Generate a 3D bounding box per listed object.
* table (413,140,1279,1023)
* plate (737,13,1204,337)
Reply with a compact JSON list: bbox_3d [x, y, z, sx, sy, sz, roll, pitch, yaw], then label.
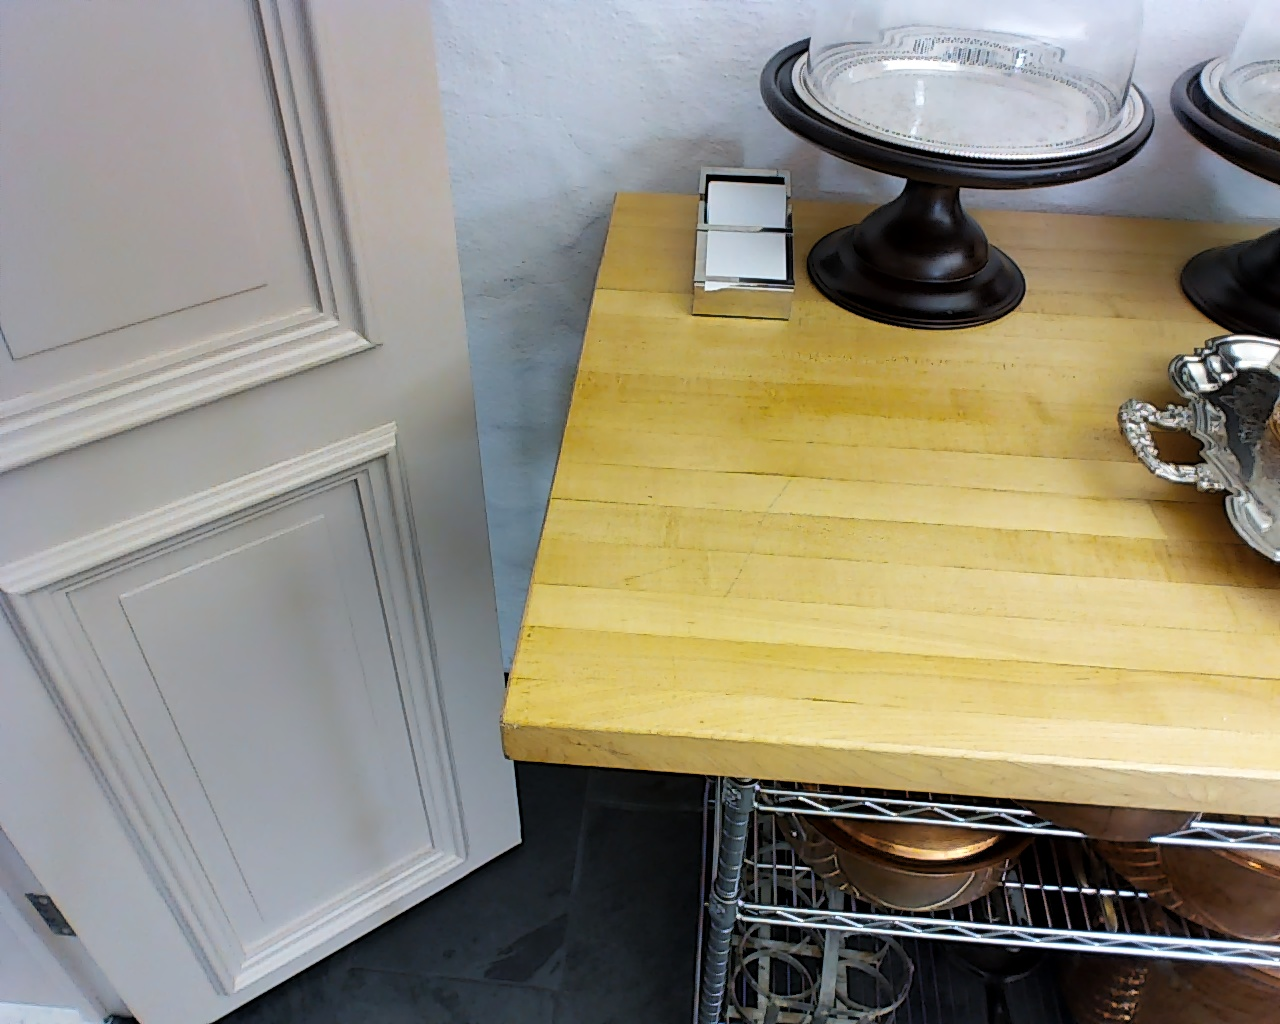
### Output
[{"bbox_3d":[0.690,0.250,1.220,1.600,0.950,0.820,4,43,3],"label":"table"},{"bbox_3d":[0.300,-0.350,1.090,0.380,0.190,0.290,4,43,3],"label":"plate"}]
